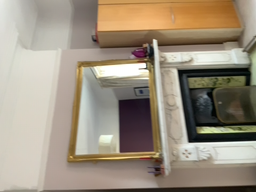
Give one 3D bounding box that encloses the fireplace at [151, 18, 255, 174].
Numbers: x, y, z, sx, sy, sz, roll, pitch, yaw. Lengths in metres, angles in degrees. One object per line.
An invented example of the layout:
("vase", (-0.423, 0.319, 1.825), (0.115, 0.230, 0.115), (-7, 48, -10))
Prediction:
("fireplace", (0.970, -0.030, 2.460), (0.620, 1.230, 1.670), (88, 180, -65))
